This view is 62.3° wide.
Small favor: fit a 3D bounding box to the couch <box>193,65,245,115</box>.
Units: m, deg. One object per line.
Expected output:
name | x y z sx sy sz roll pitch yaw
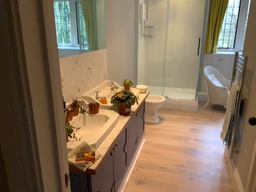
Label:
couch | 1.770 -0.160 4.140 0.630 0.760 0.660 17 24 41
